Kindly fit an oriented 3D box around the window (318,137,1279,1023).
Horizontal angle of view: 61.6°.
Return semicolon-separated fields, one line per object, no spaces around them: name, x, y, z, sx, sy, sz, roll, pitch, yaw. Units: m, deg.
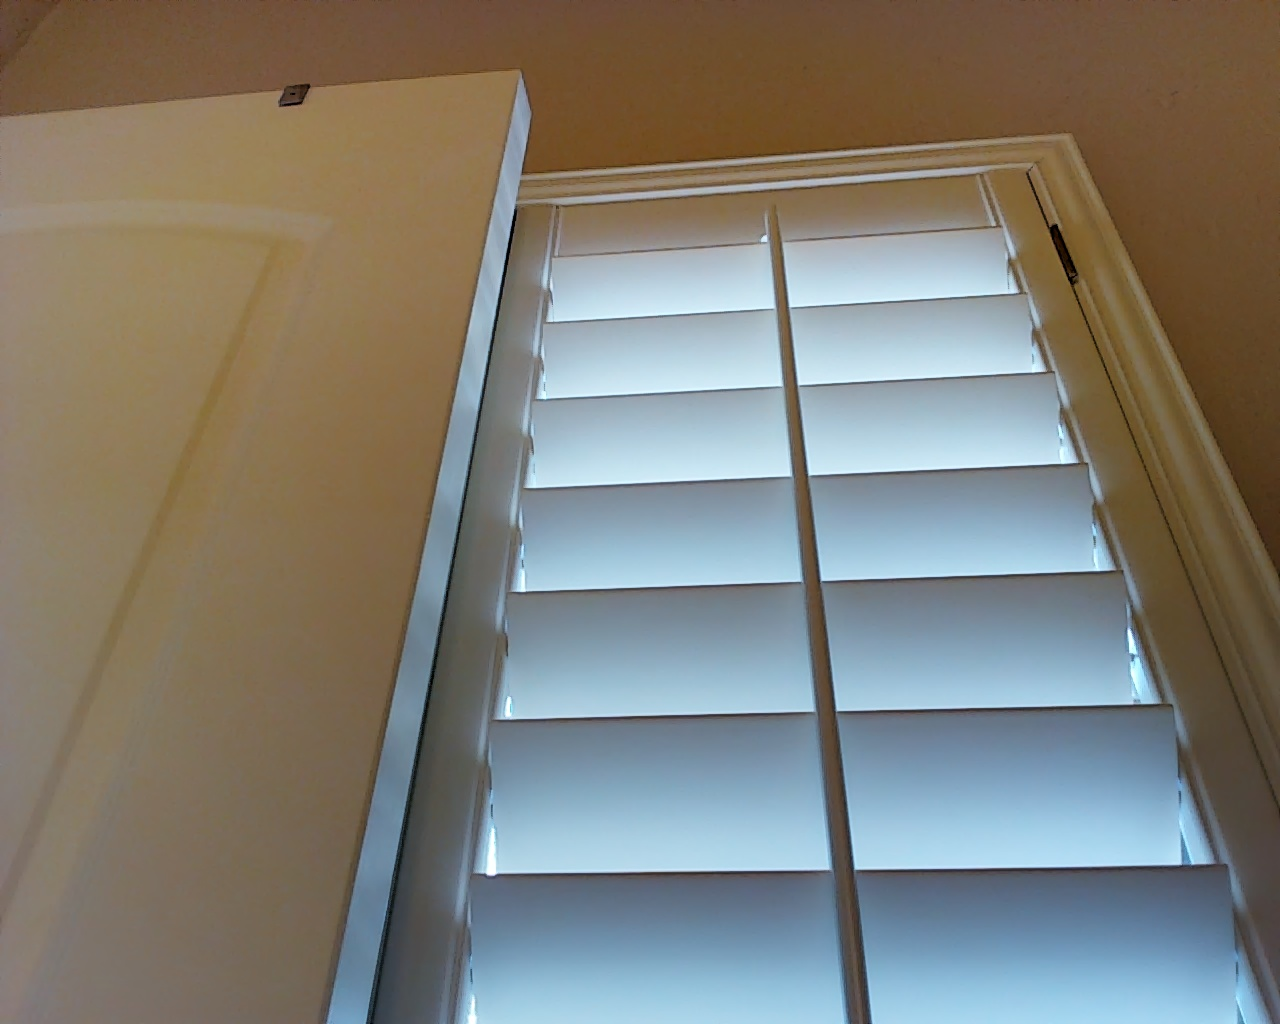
window;0.140;0.080;0.750;0.600;1.150;0.060;-2;-42;6
